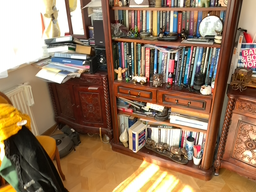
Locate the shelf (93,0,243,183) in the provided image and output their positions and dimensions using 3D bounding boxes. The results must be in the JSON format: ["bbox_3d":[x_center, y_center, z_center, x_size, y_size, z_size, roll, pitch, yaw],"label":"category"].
[{"bbox_3d":[0.290,-0.340,1.700,0.970,2.040,0.430,12,31,24],"label":"shelf"}]
